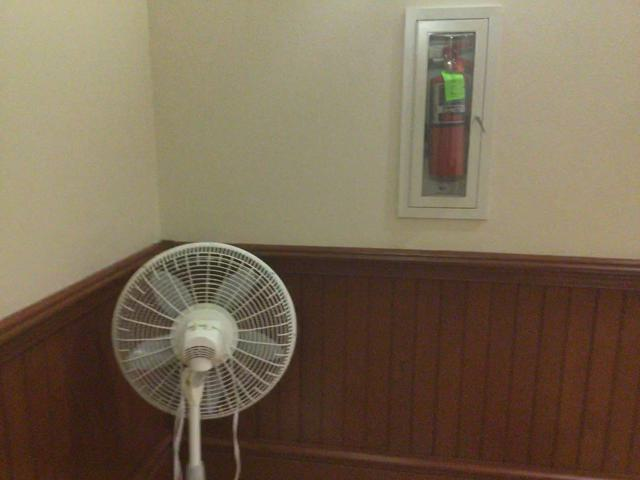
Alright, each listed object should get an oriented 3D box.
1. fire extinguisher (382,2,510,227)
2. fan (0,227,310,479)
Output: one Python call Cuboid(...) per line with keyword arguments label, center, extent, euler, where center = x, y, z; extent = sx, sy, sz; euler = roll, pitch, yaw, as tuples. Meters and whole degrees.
Cuboid(label="fire extinguisher", center=(0.410, -0.390, 1.880), extent=(0.330, 0.650, 0.140), euler=(-6, 7, 13))
Cuboid(label="fan", center=(-0.400, 0.570, 1.650), extent=(0.650, 1.130, 0.560), euler=(-2, 8, 6))
